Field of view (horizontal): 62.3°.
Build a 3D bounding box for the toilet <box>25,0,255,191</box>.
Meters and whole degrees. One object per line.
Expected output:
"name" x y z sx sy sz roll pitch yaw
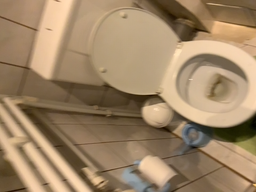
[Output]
"toilet" 0.210 -0.130 0.930 0.690 0.910 0.490 32 103 36
